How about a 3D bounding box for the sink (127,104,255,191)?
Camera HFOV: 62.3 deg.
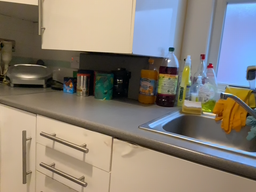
[{"bbox_3d":[0.310,0.180,0.840,0.410,0.170,0.510,10,10,30],"label":"sink"}]
